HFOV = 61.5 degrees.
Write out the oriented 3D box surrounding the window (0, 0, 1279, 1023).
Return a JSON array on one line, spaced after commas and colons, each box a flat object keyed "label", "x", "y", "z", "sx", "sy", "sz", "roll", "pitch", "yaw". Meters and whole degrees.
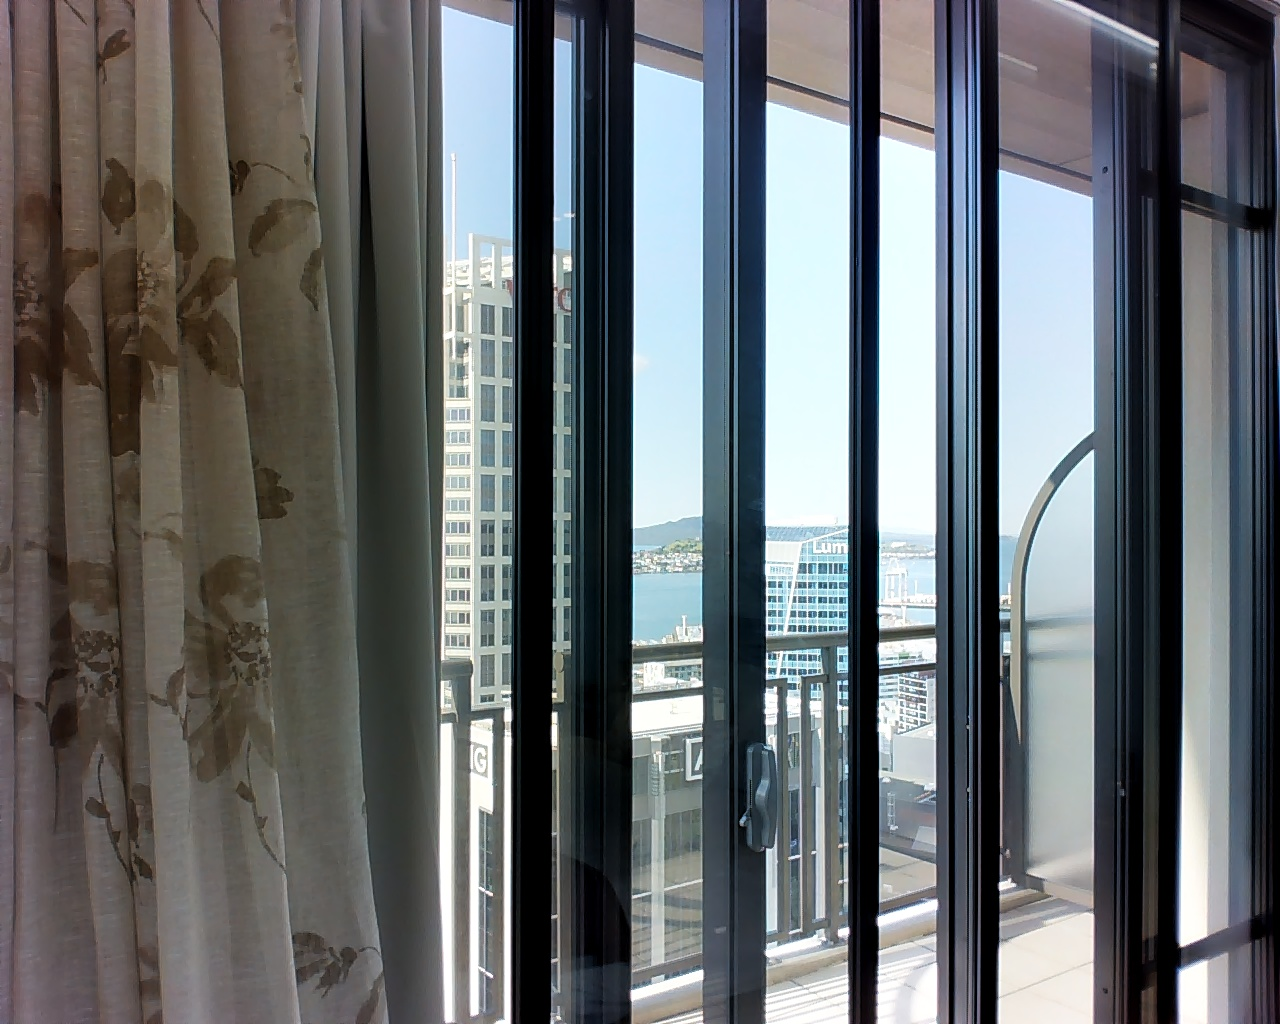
[{"label": "window", "x": 0.680, "y": 0.070, "z": 1.880, "sx": 3.539, "sy": 2.611, "sz": 0.170, "roll": 0, "pitch": 1, "yaw": -34}]
